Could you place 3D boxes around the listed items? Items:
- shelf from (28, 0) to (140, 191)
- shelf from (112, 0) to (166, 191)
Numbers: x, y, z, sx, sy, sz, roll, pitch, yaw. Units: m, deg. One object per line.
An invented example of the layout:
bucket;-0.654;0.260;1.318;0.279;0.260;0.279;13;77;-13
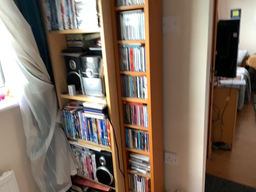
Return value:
shelf;-0.240;0.000;1.370;0.500;2.020;0.270;6;21;27
shelf;0.090;0.020;1.240;0.200;2.020;0.200;6;21;27
